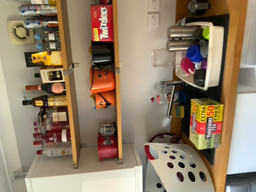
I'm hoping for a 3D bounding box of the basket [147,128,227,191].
[{"bbox_3d":[0.350,0.490,1.460,0.590,0.310,0.290,-117,24,-72],"label":"basket"}]
